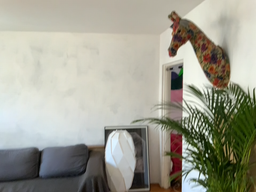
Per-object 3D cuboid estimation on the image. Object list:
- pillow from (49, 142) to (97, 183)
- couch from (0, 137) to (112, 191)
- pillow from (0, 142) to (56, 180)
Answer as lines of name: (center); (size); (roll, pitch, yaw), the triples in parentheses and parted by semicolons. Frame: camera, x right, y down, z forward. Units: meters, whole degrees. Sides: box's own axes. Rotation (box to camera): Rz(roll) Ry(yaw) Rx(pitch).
pillow: (-0.760, 0.930, 3.030); (0.620, 0.450, 0.330); (0, 4, -5)
couch: (-1.420, 1.130, 2.860); (2.400, 0.840, 1.100); (0, 4, -4)
pillow: (-1.430, 0.910, 2.990); (0.700, 0.420, 0.280); (1, 23, -5)
